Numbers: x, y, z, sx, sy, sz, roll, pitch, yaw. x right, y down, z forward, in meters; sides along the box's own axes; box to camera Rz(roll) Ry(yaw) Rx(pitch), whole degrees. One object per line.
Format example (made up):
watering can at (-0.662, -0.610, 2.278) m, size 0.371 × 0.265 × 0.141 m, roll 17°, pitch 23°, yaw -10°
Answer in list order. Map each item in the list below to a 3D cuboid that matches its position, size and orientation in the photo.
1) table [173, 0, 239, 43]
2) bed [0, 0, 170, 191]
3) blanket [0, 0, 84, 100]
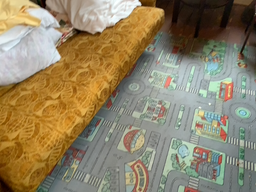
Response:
table at (0.950, -1.130, 2.470) m, size 0.580 × 0.590 × 0.750 m, roll 17°, pitch 50°, yaw 17°
bed at (-0.590, -0.310, 1.870) m, size 1.230 × 0.420 × 2.210 m, roll 19°, pitch 51°, yaw 18°
blanket at (-0.900, -0.520, 1.500) m, size 0.760 × 0.460 × 0.830 m, roll 18°, pitch 51°, yaw 18°
